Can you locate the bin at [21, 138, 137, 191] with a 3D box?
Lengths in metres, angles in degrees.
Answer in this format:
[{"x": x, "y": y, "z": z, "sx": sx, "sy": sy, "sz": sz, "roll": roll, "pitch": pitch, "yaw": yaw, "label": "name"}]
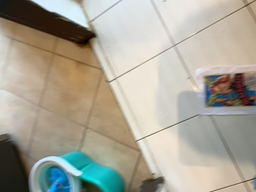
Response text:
[{"x": -0.240, "y": 0.450, "z": 1.040, "sx": 0.460, "sy": 0.250, "sz": 0.310, "roll": 15, "pitch": 97, "yaw": 18, "label": "bin"}]
